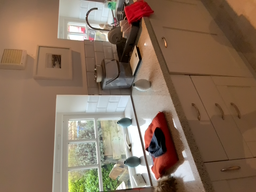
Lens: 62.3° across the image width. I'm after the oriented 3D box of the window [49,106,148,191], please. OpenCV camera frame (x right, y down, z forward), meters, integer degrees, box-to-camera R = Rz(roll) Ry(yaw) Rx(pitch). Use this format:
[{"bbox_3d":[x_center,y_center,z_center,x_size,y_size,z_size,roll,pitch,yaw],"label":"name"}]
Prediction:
[{"bbox_3d":[-0.300,0.540,2.000,0.130,0.810,0.990,112,153,-49],"label":"window"}]
